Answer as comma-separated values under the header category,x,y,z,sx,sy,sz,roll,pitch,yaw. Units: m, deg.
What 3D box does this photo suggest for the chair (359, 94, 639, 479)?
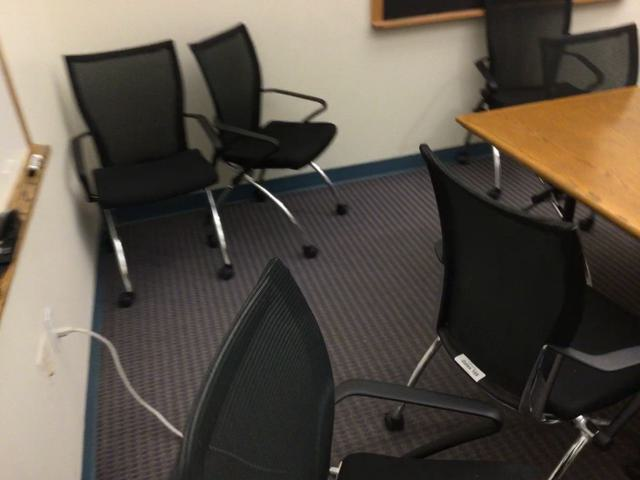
category,x,y,z,sx,sy,sz,roll,pitch,yaw
chair,0.540,0.240,1.440,0.670,0.940,0.560,-13,32,-6

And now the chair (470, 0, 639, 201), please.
category,x,y,z,sx,sy,sz,roll,pitch,yaw
chair,1.160,-0.750,2.930,0.660,0.840,0.600,-7,32,3

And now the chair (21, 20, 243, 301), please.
category,x,y,z,sx,sy,sz,roll,pitch,yaw
chair,-0.740,-0.360,2.520,0.570,0.930,0.660,-13,32,-6

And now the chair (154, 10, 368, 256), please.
category,x,y,z,sx,sy,sz,roll,pitch,yaw
chair,-0.210,-0.490,2.650,0.630,0.910,0.550,6,35,23

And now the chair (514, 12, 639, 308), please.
category,x,y,z,sx,sy,sz,roll,pitch,yaw
chair,1.070,-0.290,2.150,0.500,0.920,0.420,-13,32,-6
